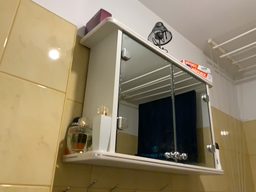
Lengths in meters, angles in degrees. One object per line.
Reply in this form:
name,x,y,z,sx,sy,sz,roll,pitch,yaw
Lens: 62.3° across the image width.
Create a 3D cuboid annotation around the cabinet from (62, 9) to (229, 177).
cabinet,0.130,0.060,0.840,0.690,0.450,0.170,22,-31,-38
